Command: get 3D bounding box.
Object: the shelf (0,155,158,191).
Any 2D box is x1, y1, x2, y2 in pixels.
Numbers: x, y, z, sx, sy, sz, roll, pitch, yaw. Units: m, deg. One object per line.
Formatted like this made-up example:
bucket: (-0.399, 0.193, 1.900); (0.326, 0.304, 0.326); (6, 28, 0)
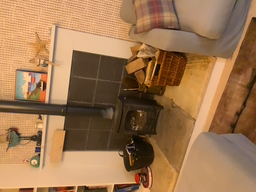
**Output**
shelf: (-0.640, 1.110, 2.850); (0.400, 2.050, 0.460); (-129, 49, -62)
